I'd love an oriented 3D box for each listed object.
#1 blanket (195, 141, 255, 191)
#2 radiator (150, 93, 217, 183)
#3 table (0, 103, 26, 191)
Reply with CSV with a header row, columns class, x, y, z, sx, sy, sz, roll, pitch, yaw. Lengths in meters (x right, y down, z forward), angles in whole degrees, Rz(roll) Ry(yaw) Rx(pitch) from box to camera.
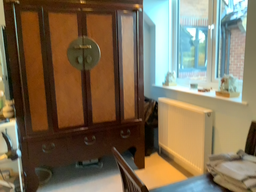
class,x,y,z,sx,sy,sz,roll,pitch,yaw
blanket,0.720,0.450,1.410,0.430,0.130,0.300,-5,11,-20
radiator,0.540,0.380,2.310,0.150,0.680,0.910,-7,12,-24
table,-1.300,0.530,2.020,0.510,0.750,0.740,-6,11,-24
